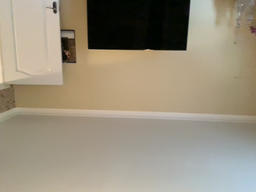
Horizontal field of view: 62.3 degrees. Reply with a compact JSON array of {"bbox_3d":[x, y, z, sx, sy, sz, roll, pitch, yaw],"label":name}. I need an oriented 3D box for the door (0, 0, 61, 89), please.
[{"bbox_3d":[-1.270,-1.160,2.560,0.790,2.170,0.060,0,-168,-2],"label":"door"}]
